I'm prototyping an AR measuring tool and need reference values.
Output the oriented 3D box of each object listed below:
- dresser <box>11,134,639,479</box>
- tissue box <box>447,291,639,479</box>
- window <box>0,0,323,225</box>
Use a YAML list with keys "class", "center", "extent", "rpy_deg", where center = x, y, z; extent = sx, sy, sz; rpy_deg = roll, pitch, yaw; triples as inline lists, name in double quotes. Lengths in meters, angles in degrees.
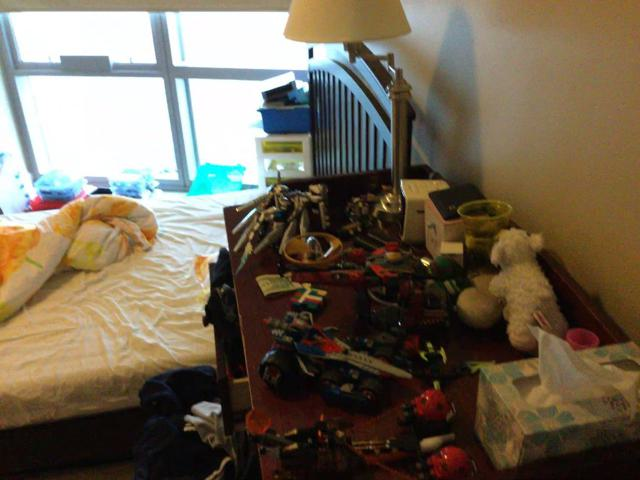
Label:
- class: "dresser"
  center: [0.020, 0.460, 1.230]
  extent: [0.850, 1.050, 1.060]
  rpy_deg: [-5, 28, -12]
- class: "tissue box"
  center: [0.340, 0.200, 0.720]
  extent: [0.290, 0.190, 0.170]
  rpy_deg: [-5, 28, -12]
- class: "window"
  center: [-1.110, -0.930, 3.650]
  extent: [2.100, 1.080, 1.250]
  rpy_deg: [5, 28, 5]
